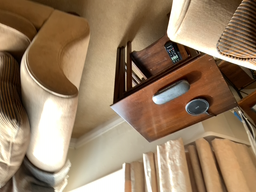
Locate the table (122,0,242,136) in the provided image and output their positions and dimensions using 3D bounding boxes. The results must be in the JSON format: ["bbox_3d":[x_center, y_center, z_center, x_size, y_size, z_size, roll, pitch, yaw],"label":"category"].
[{"bbox_3d":[0.240,-0.170,1.130,0.400,0.550,0.350,-29,127,24],"label":"table"}]

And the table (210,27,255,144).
[{"bbox_3d":[0.790,-0.040,1.090,0.440,0.780,0.270,-24,129,20],"label":"table"}]
